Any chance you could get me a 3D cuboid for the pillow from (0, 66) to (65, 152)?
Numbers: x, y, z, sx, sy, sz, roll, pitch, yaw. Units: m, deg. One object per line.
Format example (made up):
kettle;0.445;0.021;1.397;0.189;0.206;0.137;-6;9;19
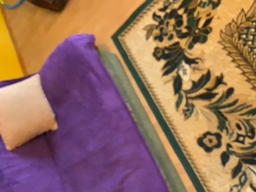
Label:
pillow;-0.650;0.050;1.250;0.230;0.330;0.390;-38;86;16
